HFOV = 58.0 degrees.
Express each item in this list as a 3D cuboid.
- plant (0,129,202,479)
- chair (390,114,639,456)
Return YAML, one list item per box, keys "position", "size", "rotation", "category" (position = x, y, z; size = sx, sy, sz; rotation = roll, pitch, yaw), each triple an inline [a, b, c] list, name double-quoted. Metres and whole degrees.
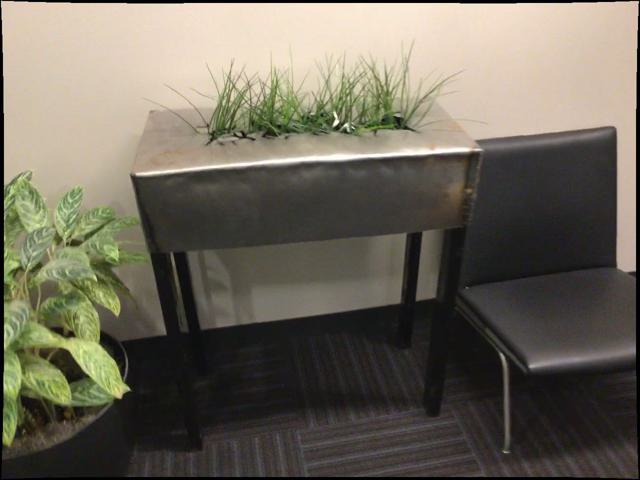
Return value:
- position: [-0.768, 0.281, 1.500]
  size: [0.798, 0.801, 0.821]
  rotation: [-5, 35, -7]
  category: "plant"
- position: [0.678, 0.100, 1.750]
  size: [0.738, 0.691, 0.680]
  rotation: [-5, 35, -7]
  category: "chair"
